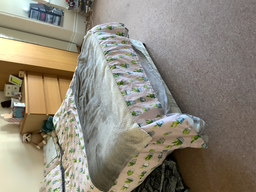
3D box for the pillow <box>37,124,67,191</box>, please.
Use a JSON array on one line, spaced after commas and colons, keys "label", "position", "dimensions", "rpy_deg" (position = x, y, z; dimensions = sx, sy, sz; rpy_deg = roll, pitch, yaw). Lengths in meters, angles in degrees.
[{"label": "pillow", "position": [-0.950, 0.970, 2.620], "dimensions": [0.440, 0.190, 1.180], "rpy_deg": [-53, 44, 38]}]
